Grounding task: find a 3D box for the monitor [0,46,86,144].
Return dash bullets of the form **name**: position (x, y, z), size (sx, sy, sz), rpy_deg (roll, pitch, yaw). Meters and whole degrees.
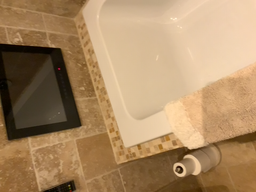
- **monitor**: position (-0.410, -0.030, 1.020), size (0.010, 0.340, 0.450), rpy_deg (-32, 72, 44)
